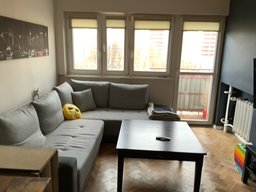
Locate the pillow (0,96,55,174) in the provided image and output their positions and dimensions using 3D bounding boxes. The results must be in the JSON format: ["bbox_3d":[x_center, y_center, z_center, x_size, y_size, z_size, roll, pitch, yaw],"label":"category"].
[{"bbox_3d":[-1.110,0.390,2.280,0.310,0.530,0.620,3,31,5],"label":"pillow"}]

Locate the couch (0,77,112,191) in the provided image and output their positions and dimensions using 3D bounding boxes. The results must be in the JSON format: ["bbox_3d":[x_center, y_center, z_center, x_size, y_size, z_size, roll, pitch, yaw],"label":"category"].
[{"bbox_3d":[-0.840,0.370,2.980,0.980,0.890,2.480,2,13,1],"label":"couch"}]

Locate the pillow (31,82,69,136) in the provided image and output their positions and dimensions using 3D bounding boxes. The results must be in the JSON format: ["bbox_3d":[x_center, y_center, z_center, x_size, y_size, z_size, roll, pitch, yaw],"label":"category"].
[{"bbox_3d":[-1.060,0.160,2.970,0.220,0.450,0.670,1,31,1],"label":"pillow"}]

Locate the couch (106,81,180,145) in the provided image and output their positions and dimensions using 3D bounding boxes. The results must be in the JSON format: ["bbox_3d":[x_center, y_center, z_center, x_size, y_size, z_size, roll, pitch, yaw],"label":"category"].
[{"bbox_3d":[0.220,0.250,3.730,1.100,0.840,0.920,2,13,1],"label":"couch"}]
